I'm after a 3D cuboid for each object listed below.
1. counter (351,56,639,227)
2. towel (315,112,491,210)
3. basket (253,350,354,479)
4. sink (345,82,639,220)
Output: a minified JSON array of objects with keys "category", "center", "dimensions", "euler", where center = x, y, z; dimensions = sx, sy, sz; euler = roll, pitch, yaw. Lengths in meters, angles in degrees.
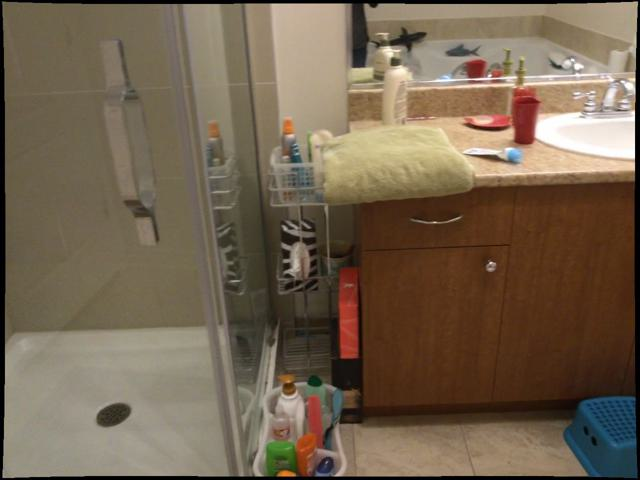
[{"category":"counter","center":[0.879,-0.330,1.610],"dimensions":[1.528,0.240,0.580],"euler":[-5,26,0]},{"category":"towel","center":[0.190,-0.210,1.470],"dimensions":[0.390,0.120,0.320],"euler":[-5,26,0]},{"category":"basket","center":[-0.040,0.541,1.620],"dimensions":[0.240,0.240,0.410],"euler":[-5,26,0]},{"category":"sink","center":[0.579,-0.280,1.680],"dimensions":[0.969,0.190,0.470],"euler":[-5,26,0]}]
